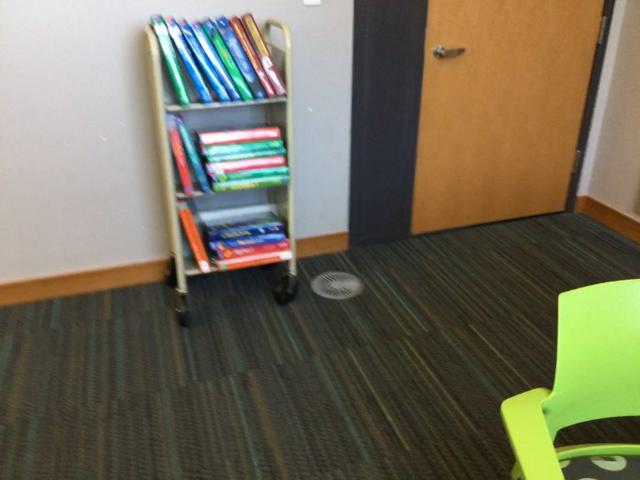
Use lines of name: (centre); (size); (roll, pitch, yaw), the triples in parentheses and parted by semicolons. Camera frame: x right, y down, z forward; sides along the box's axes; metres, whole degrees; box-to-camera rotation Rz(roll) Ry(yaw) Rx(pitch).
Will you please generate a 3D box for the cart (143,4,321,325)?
cart: (-0.330, -0.300, 2.220); (0.540, 1.100, 0.460); (-7, 26, -16)
